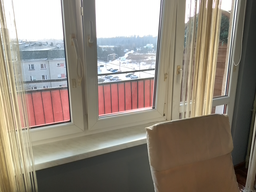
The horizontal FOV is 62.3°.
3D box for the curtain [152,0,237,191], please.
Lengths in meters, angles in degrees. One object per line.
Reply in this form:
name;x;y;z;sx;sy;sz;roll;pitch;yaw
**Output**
curtain;0.450;-0.140;1.530;0.410;2.380;0.280;-6;17;-20
